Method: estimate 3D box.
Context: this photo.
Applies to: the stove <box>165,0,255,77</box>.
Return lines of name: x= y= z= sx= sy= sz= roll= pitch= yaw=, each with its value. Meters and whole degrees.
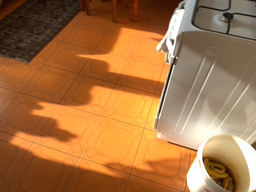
stove: x=0.560 y=-0.340 z=0.950 sx=0.640 sy=0.140 sz=0.570 roll=18 pitch=53 yaw=11
